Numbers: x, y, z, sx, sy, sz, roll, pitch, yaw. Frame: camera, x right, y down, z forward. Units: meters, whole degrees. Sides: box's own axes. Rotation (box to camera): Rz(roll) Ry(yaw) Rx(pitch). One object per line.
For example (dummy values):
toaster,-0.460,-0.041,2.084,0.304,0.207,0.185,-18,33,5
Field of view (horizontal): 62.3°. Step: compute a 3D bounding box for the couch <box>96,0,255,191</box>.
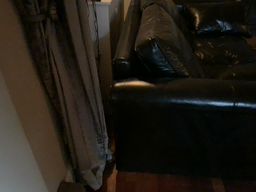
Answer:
couch,0.520,-0.270,1.730,1.160,0.860,1.790,3,37,3
